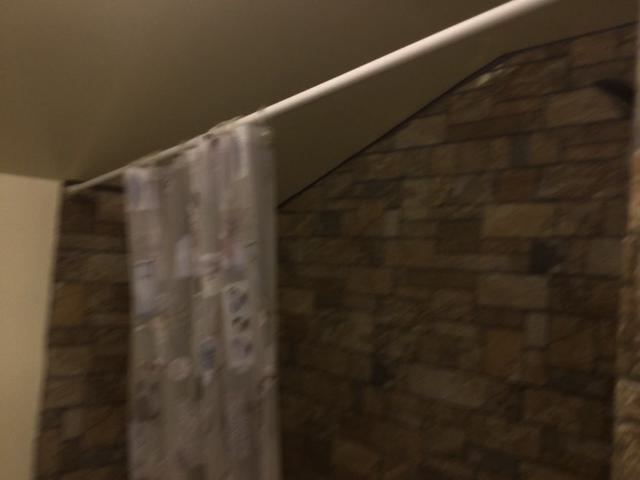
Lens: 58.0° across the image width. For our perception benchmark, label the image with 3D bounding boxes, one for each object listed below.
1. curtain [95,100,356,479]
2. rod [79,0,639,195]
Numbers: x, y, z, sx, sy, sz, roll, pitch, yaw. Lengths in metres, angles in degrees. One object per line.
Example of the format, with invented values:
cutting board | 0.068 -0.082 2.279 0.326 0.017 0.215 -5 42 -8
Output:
curtain | -0.260 0.530 1.400 0.310 1.570 0.610 5 -5 -44
rod | -0.170 -0.240 1.260 0.070 0.140 1.590 5 -5 -44
